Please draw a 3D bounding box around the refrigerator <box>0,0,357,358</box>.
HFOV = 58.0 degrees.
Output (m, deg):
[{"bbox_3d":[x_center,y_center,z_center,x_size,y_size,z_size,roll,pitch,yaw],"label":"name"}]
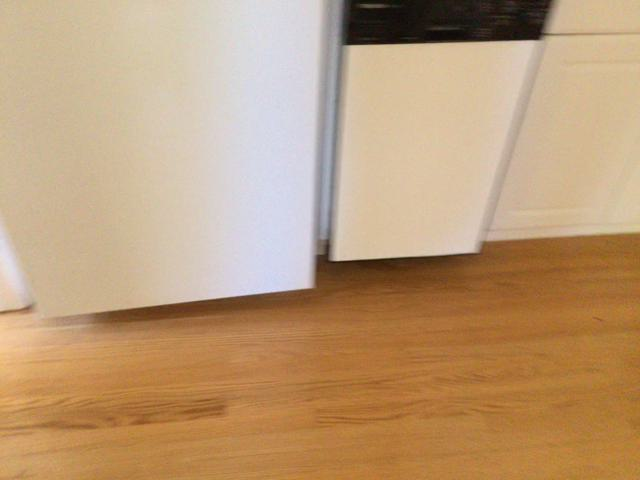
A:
[{"bbox_3d":[-0.390,-0.490,1.160,0.860,1.670,0.460,-4,42,1],"label":"refrigerator"}]
